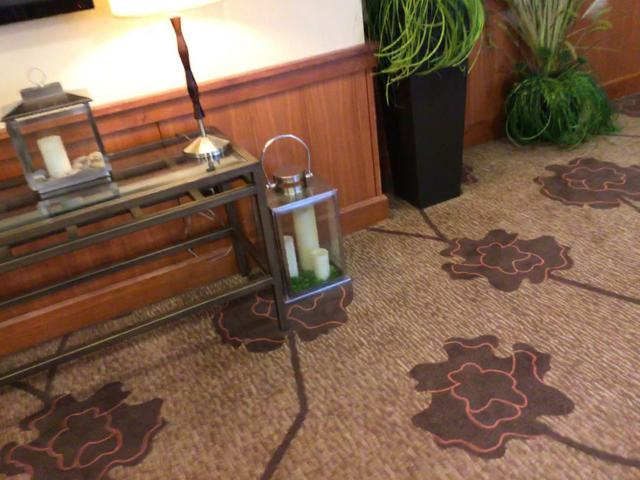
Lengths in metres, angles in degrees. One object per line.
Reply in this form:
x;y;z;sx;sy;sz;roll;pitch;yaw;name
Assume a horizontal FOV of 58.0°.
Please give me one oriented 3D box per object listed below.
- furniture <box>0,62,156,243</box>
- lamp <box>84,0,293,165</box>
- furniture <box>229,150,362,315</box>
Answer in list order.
-0.850;-0.320;1.970;0.350;0.450;0.430;-26;26;-15;furniture
-0.430;-0.640;1.770;0.390;0.680;0.240;-32;28;-12;lamp
-0.100;-0.040;2.380;0.300;0.540;0.320;-26;26;-15;furniture
